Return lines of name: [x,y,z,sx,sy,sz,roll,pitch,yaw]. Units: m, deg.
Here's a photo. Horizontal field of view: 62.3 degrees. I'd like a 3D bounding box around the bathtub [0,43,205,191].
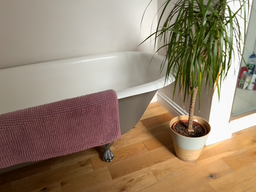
bathtub: [-0.470,0.160,1.360,1.650,0.580,0.770,-14,30,-18]
